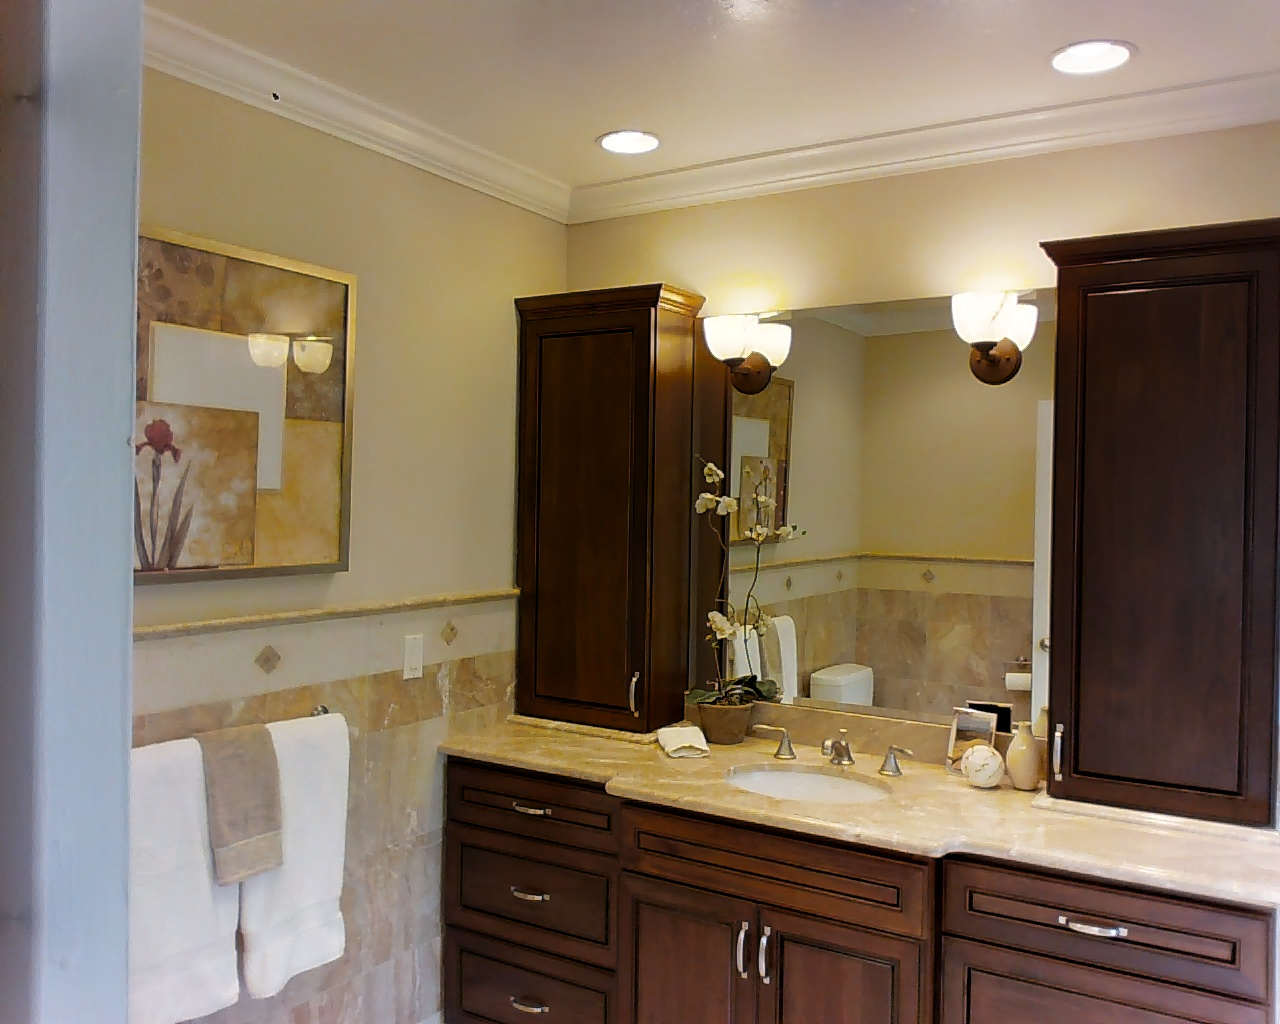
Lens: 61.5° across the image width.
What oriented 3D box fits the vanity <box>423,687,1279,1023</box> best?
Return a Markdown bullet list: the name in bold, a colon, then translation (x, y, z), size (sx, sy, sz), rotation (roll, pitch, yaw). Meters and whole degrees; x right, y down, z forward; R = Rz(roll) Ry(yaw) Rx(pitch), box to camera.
- **vanity**: translation (0.440, 0.730, 2.650), size (2.030, 0.270, 0.640), rotation (2, 1, 33)
